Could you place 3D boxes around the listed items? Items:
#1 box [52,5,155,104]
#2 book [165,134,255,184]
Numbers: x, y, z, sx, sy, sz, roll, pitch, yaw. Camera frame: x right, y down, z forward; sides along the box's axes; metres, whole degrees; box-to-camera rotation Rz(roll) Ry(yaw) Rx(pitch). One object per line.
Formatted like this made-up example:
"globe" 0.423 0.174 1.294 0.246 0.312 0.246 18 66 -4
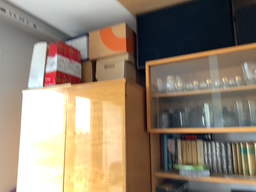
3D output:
"box" -0.200 -0.270 1.740 0.730 0.580 0.390 -6 -11 30
"book" 0.640 0.390 1.380 0.760 0.270 0.190 -6 -12 32
